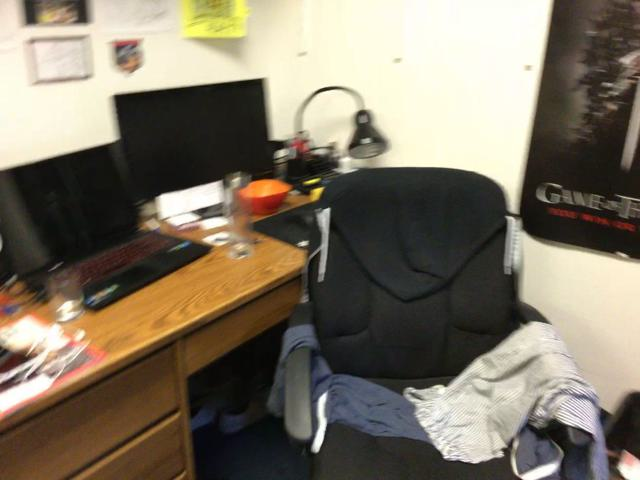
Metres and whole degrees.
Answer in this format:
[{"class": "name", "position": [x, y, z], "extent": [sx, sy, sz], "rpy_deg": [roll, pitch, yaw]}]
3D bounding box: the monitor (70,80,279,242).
[{"class": "monitor", "position": [-0.400, -0.270, 1.760], "extent": [0.170, 0.360, 0.620], "rpy_deg": [17, 27, 35]}]
